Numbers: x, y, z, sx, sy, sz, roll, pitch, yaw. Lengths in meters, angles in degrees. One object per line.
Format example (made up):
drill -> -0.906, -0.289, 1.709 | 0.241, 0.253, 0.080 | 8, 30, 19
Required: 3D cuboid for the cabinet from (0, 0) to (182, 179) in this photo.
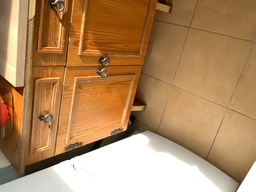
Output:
cabinet -> -0.200, -0.200, 1.060 | 0.380, 0.820, 0.850 | 29, 115, 35
